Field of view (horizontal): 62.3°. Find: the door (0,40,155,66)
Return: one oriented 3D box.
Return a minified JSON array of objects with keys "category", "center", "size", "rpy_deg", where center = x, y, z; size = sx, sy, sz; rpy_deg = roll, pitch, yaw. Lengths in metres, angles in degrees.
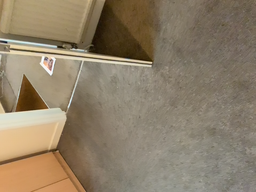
[{"category":"door","center":[-0.770,-0.260,0.970],"size":[0.790,1.970,0.030],"rpy_deg":[17,104,40]}]
